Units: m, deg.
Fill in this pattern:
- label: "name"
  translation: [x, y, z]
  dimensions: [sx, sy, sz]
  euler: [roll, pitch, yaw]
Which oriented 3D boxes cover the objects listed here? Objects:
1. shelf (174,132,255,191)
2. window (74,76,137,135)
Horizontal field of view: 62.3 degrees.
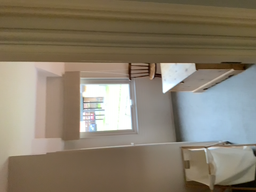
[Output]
- label: "shelf"
  translation: [0.890, 0.650, 2.150]
  dimensions: [0.570, 0.600, 0.480]
  euler: [127, 140, -71]
- label: "window"
  translation: [-0.430, 0.160, 3.920]
  dimensions: [0.270, 1.080, 1.040]
  euler: [129, 138, -72]
